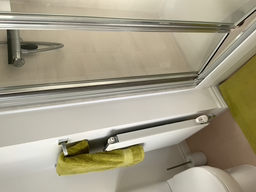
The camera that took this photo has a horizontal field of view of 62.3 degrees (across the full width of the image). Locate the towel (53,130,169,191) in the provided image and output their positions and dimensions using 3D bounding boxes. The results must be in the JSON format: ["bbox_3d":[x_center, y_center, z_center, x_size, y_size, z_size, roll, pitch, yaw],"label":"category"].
[{"bbox_3d":[-0.130,0.430,1.370,0.450,0.630,0.150,-56,47,54],"label":"towel"}]
